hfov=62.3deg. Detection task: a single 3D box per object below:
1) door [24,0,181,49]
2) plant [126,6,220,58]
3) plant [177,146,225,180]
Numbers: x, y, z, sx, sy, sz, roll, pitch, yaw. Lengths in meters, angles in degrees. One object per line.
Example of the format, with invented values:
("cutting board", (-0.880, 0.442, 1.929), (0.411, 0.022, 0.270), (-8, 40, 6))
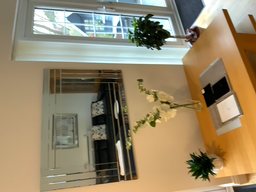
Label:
("door", (-0.330, -1.410, 2.990), (0.080, 1.970, 1.630), (121, 145, -62))
("plant", (0.480, -0.690, 2.370), (0.340, 0.900, 0.370), (116, 149, -59))
("plant", (0.590, 0.560, 1.760), (0.270, 0.220, 0.220), (119, 146, -61))
